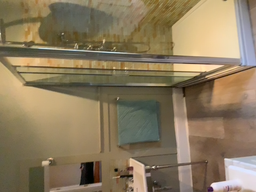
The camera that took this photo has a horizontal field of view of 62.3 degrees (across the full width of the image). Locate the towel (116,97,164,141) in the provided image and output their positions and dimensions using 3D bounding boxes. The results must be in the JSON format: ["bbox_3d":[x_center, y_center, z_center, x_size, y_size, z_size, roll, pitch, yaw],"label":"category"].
[{"bbox_3d":[0.150,0.280,2.690,0.090,0.590,0.520,161,107,-71],"label":"towel"}]
